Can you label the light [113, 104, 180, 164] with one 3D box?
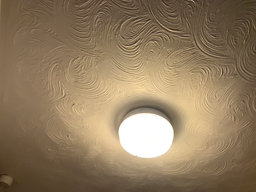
[{"bbox_3d":[0.060,0.150,0.810,0.220,0.070,0.220,7,128,1],"label":"light"}]
